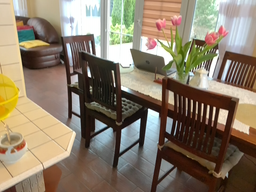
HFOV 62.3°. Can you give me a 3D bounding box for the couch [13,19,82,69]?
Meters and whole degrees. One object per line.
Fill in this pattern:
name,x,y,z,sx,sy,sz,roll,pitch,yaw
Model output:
couch,-1.700,-1.180,4.610,0.730,0.840,1.120,25,32,37
